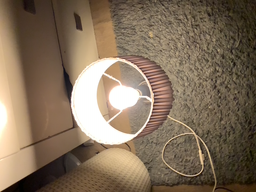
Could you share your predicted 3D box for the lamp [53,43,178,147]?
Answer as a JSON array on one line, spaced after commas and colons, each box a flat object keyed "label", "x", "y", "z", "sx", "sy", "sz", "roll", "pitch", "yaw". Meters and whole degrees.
[{"label": "lamp", "x": 0.010, "y": -0.010, "z": 0.760, "sx": 0.260, "sy": 0.470, "sz": 0.220, "roll": -11, "pitch": 91, "yaw": 18}]
